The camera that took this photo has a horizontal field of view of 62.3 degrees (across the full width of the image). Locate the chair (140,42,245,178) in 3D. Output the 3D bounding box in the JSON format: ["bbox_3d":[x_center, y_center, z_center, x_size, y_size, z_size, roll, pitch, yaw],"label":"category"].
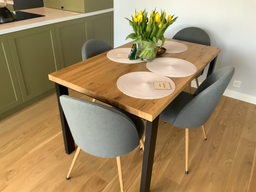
[{"bbox_3d":[0.500,0.090,1.780,0.550,0.870,0.510,21,35,28],"label":"chair"}]

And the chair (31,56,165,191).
[{"bbox_3d":[-0.160,0.280,1.400,0.510,0.870,0.540,21,35,28],"label":"chair"}]

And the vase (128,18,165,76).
[{"bbox_3d":[0.140,-0.380,1.620,0.150,0.360,0.240,22,36,28],"label":"vase"}]
